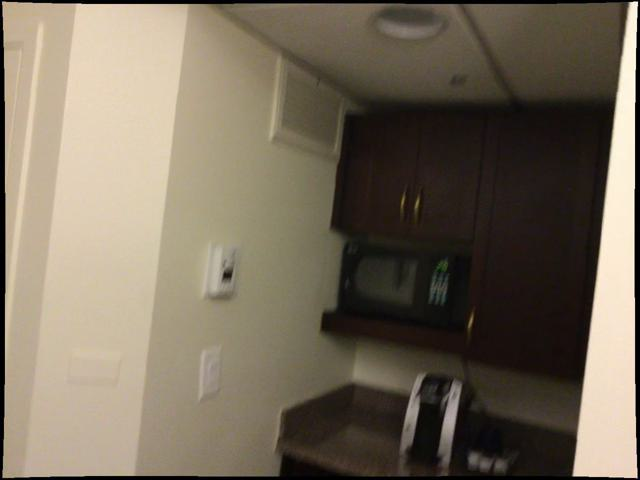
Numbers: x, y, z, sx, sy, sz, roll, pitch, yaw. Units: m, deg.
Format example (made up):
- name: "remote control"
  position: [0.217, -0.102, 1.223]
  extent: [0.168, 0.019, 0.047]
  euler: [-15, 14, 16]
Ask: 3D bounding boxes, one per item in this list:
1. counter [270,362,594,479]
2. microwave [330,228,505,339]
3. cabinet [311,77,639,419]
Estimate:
- name: "counter"
  position: [0.410, 0.711, 2.010]
  extent: [0.929, 0.240, 0.670]
  euler: [9, 3, 28]
- name: "microwave"
  position: [0.390, 0.150, 2.270]
  extent: [0.540, 0.310, 0.400]
  euler: [9, 3, 28]
- name: "cabinet"
  position: [0.579, -0.030, 2.120]
  extent: [0.989, 0.991, 0.490]
  euler: [9, 3, 28]
